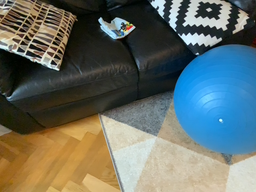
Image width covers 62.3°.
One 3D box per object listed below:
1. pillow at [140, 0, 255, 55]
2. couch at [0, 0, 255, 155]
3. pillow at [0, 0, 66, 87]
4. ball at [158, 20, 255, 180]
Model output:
[{"bbox_3d":[0.340,-0.510,1.190,0.370,0.150,0.580,-16,53,-9],"label":"pillow"},{"bbox_3d":[-0.110,-0.530,1.300,1.640,0.910,0.990,-16,53,-10],"label":"couch"},{"bbox_3d":[-0.500,-0.350,1.060,0.420,0.120,0.490,-36,38,21],"label":"pillow"},{"bbox_3d":[0.500,0.020,1.050,0.520,0.500,0.500,-13,52,-7],"label":"ball"}]
